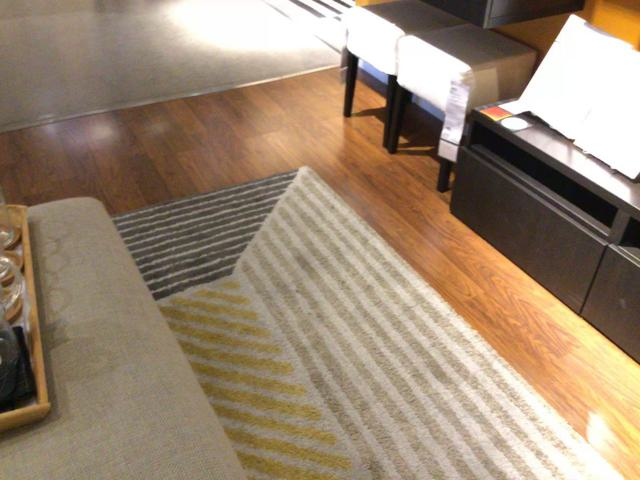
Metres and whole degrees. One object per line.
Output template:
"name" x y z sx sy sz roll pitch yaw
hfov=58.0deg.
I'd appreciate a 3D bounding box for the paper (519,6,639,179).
"paper" 0.770 -0.410 1.580 0.110 0.300 0.490 -24 43 -14
